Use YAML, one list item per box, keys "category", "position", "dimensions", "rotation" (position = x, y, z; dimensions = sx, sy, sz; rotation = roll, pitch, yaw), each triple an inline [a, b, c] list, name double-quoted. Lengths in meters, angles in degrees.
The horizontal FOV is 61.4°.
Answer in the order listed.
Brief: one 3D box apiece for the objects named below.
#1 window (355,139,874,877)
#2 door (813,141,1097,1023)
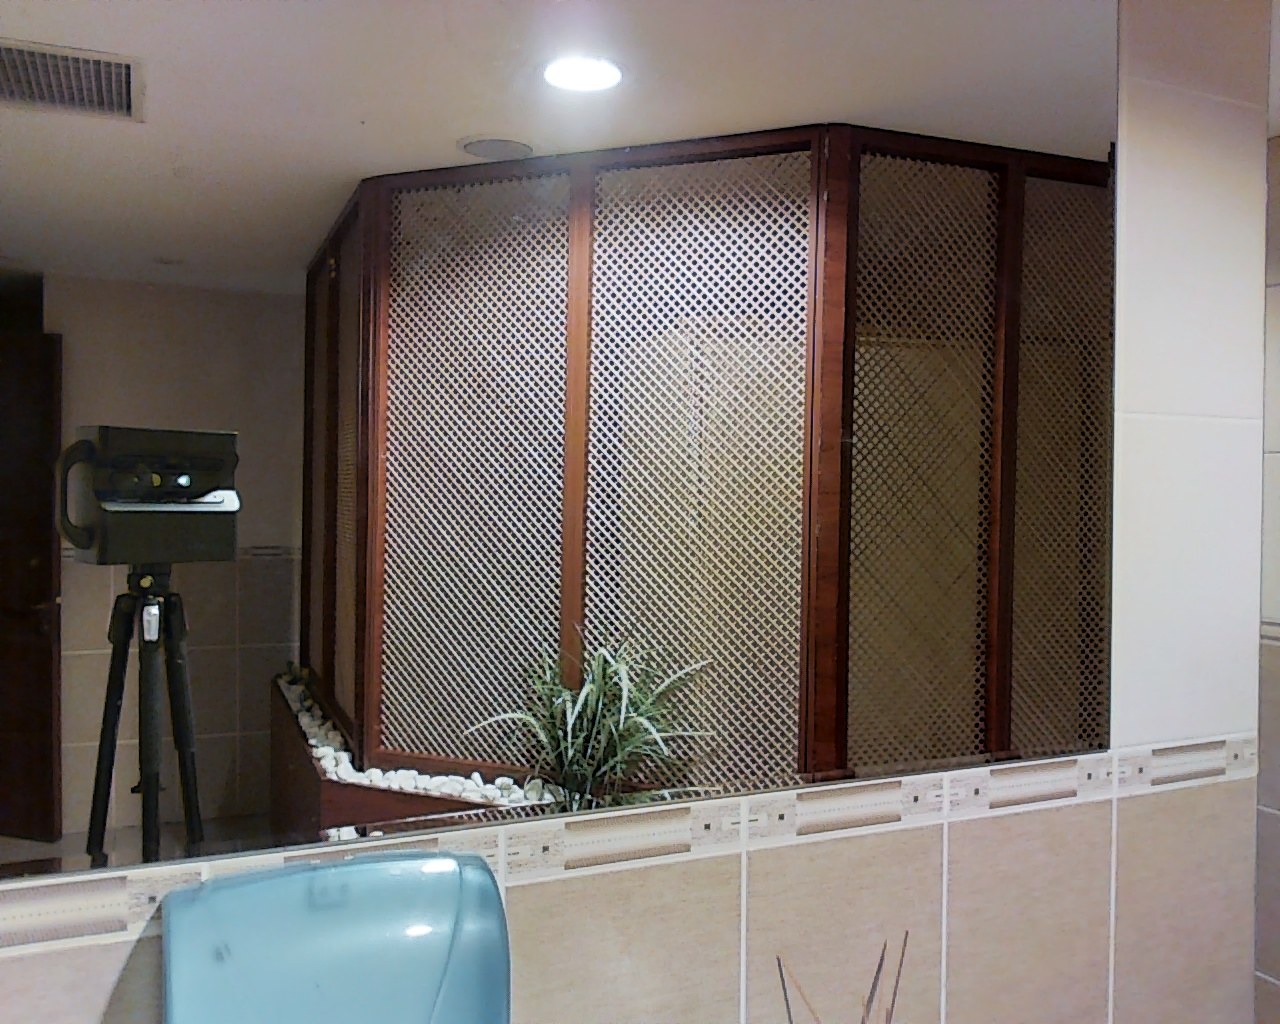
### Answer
- category: "window"
  position: [-0.120, -0.010, 2.950]
  dimensions: [1.480, 1.800, 0.120]
  rotation: [0, 1, 21]
- category: "door"
  position: [0.820, 0.250, 2.750]
  dimensions: [0.840, 2.250, 0.070]
  rotation: [-1, 1, -24]
